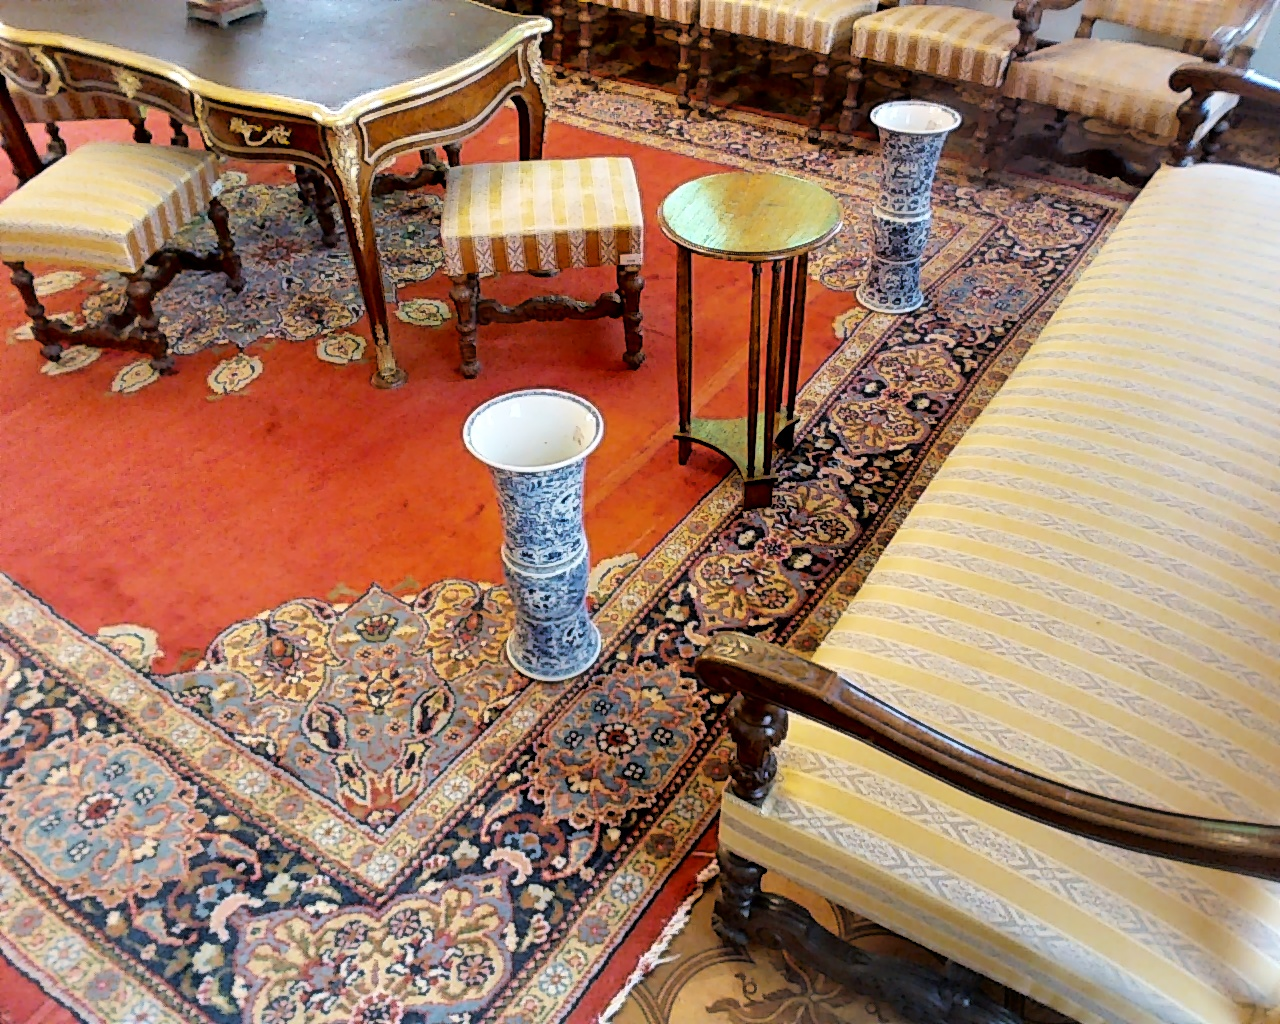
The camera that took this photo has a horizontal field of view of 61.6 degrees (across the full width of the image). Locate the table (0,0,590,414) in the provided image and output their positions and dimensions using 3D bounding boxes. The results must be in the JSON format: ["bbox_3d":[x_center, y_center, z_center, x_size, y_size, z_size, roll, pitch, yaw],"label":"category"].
[{"bbox_3d":[-1.130,-1.140,3.330,1.730,0.800,0.890,25,48,26],"label":"table"}]

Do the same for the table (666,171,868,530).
[{"bbox_3d":[0.280,-0.360,2.470,0.370,0.690,0.370,8,43,10],"label":"table"}]
